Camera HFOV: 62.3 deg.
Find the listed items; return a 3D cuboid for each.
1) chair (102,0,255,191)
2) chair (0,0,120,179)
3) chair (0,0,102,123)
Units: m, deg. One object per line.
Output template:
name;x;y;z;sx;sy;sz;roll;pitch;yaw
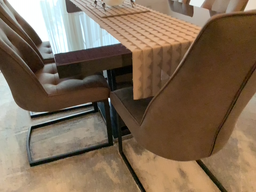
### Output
chair;0.230;0.050;0.950;0.480;0.930;0.620;-12;34;-16
chair;-0.450;-0.110;1.240;0.630;0.930;0.490;-14;35;-18
chair;-0.620;-0.380;1.640;0.640;0.950;0.490;-12;34;-16
